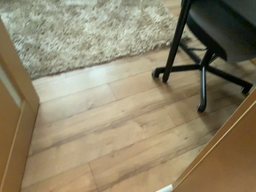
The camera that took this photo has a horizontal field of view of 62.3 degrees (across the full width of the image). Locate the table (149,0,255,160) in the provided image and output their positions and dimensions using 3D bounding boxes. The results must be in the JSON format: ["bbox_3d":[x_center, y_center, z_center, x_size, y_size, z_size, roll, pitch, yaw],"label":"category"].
[{"bbox_3d":[0.630,-0.220,1.190,0.680,0.750,0.690,-19,57,-18],"label":"table"}]
